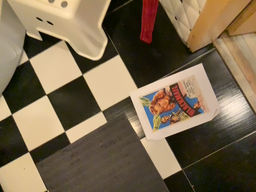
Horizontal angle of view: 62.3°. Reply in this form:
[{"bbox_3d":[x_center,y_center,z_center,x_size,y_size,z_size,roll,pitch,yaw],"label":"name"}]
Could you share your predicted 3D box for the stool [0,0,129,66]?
[{"bbox_3d":[-0.190,-0.410,0.750,0.340,0.270,0.460,25,88,6],"label":"stool"}]
